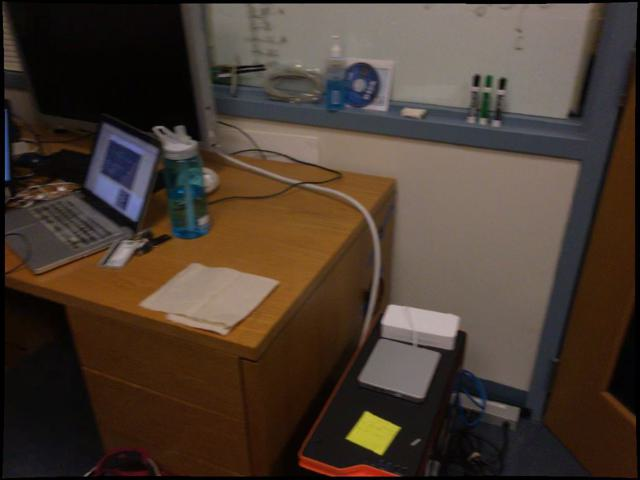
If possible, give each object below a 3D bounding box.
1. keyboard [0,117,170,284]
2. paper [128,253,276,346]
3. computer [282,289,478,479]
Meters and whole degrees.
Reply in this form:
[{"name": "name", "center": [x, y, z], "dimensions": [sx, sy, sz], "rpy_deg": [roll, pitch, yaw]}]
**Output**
[{"name": "keyboard", "center": [-0.628, -0.120, 1.410], "dimensions": [0.360, 0.200, 0.340], "rpy_deg": [-26, 40, -35]}, {"name": "paper", "center": [-0.229, 0.110, 1.150], "dimensions": [0.220, 0.030, 0.190], "rpy_deg": [13, 34, 21]}, {"name": "computer", "center": [0.160, 0.511, 1.390], "dimensions": [0.269, 0.541, 0.520], "rpy_deg": [13, 34, 21]}]
